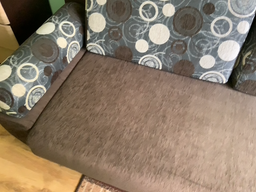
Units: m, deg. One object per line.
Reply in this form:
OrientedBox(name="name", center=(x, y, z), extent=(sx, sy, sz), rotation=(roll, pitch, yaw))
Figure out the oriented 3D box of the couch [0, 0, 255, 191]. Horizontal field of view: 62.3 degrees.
OrientedBox(name="couch", center=(0.430, 0.020, 0.950), extent=(2.010, 0.870, 0.960), rotation=(17, 55, 10))
